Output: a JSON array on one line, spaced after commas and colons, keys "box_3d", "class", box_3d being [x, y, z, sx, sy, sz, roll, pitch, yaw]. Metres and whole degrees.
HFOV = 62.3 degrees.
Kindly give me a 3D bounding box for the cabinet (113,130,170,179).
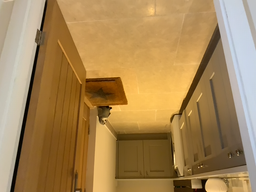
[{"box_3d": [0.240, 1.140, 4.160, 1.050, 0.890, 0.210, -3, 158, 5], "class": "cabinet"}]
